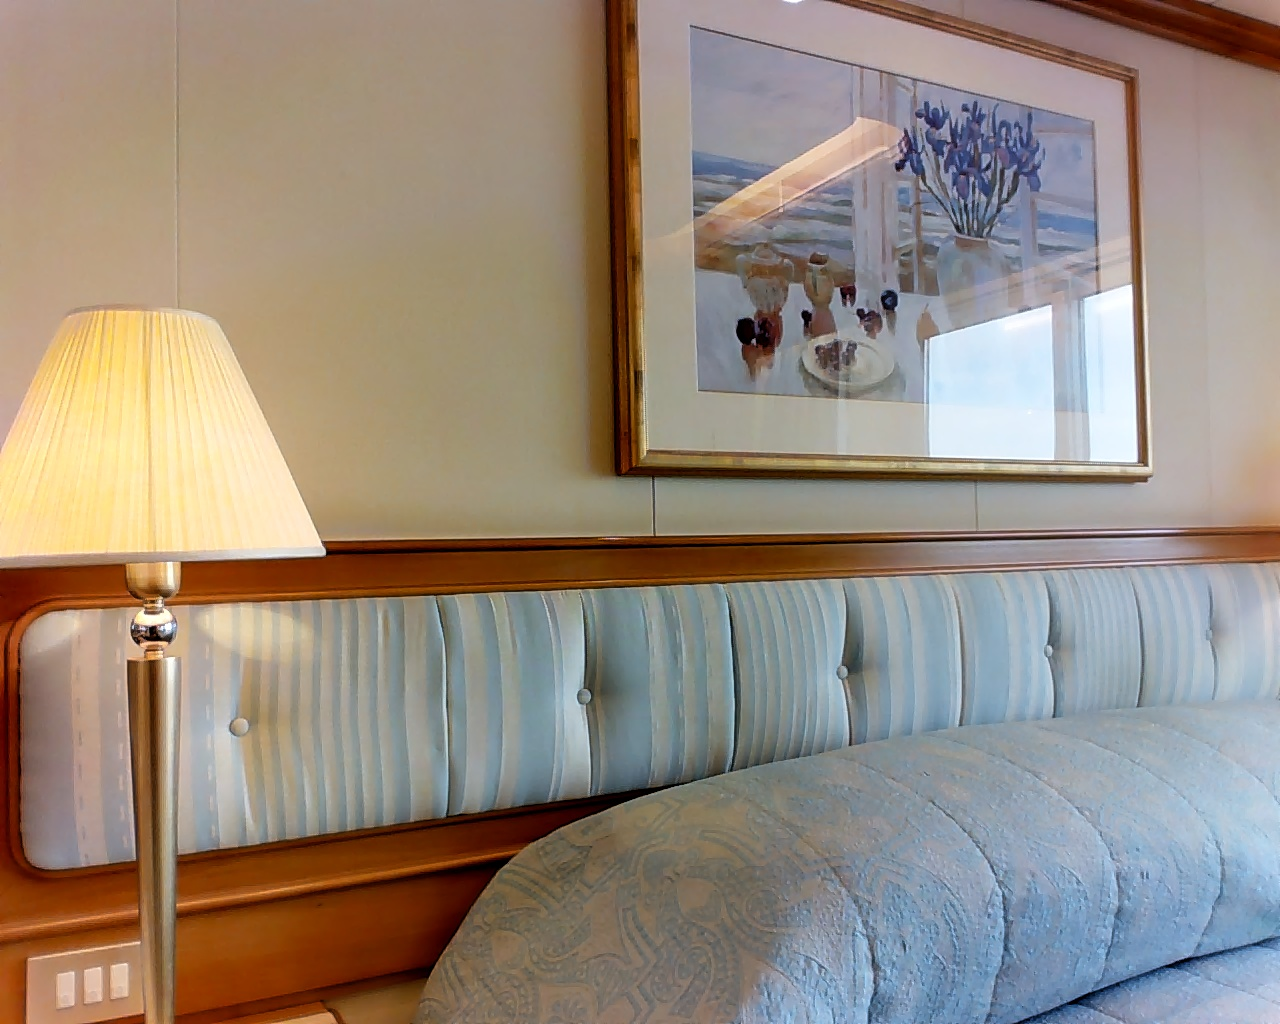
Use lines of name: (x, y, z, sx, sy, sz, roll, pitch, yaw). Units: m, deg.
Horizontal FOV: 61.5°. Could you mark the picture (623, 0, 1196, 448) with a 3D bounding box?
picture: (0.480, -0.470, 1.690, 1.090, 0.710, 0.070, 0, -1, -28)
